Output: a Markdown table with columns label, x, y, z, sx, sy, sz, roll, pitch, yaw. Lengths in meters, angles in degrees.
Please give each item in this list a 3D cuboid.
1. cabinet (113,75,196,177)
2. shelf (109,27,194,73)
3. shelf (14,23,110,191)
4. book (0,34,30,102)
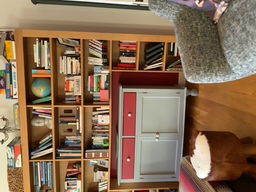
| label | x | y | z | sx | sy | sz | roll | pitch | yaw |
| --- | --- | --- | --- | --- | --- | --- | --- | --- | --- |
| cabinet | 0.290 | 0.360 | 2.730 | 0.420 | 0.910 | 1.210 | -123 | 34 | -77 |
| shelf | 0.270 | -0.560 | 2.630 | 0.270 | 0.990 | 0.490 | -123 | 34 | -77 |
| shelf | -0.750 | 0.370 | 2.650 | 0.330 | 1.000 | 2.350 | -123 | 34 | -77 |
| book | -1.380 | -0.320 | 2.400 | 0.280 | 0.380 | 0.720 | -123 | 34 | -77 |
